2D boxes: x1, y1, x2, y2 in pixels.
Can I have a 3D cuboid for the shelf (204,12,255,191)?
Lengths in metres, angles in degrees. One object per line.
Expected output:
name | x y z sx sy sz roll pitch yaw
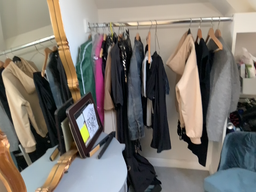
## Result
shelf | 0.920 0.110 1.680 0.430 1.440 0.400 2 19 11
